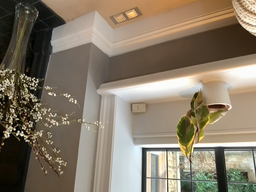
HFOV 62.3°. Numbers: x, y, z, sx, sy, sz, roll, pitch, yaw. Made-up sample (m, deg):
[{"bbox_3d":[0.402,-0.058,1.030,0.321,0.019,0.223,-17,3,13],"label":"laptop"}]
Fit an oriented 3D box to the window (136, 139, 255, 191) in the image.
[{"bbox_3d":[0.640,0.870,1.380,1.250,1.140,0.130,-8,158,26],"label":"window"}]
